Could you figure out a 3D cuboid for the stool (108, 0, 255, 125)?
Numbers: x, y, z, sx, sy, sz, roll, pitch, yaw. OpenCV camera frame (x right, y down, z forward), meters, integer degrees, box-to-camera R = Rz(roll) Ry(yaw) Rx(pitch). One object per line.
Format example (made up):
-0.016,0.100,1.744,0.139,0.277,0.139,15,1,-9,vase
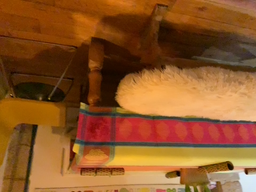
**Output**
0.670,-0.140,1.450,1.560,0.550,0.360,7,155,-18,stool
